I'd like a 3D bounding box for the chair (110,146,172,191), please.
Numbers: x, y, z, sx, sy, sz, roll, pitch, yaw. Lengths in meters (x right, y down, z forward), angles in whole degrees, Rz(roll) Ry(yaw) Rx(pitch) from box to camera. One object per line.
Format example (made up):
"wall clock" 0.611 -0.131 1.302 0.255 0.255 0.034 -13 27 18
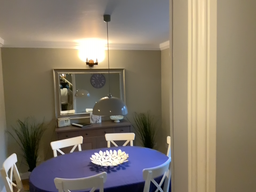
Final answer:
"chair" 0.140 1.030 2.160 0.460 0.860 0.410 3 7 45

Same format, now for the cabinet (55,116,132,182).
"cabinet" -0.610 0.890 3.790 1.260 0.900 0.480 -2 5 -18
